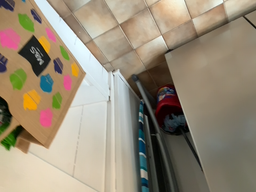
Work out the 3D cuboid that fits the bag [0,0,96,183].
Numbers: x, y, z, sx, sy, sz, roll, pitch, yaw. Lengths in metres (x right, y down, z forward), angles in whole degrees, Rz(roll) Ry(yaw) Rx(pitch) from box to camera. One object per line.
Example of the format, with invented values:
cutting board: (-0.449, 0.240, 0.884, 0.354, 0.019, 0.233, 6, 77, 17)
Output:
bag: (-0.300, -0.070, 0.600, 0.180, 0.440, 0.420, -24, 130, 18)
